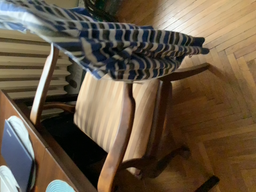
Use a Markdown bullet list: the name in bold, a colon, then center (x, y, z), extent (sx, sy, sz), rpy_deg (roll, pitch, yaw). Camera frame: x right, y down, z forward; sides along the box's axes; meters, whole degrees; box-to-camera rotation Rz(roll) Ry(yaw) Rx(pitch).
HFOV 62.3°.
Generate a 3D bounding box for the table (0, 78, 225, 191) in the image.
- **table**: center (-0.260, 0.490, 1.320), extent (1.200, 0.740, 0.760), rpy_deg (34, 116, 34)
